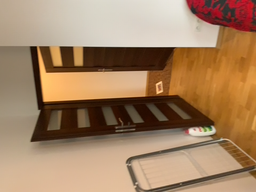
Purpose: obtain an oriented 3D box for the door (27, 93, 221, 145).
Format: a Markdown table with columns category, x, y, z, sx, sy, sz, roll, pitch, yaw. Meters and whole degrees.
| category | x | y | z | sx | sy | sz | roll | pitch | yaw |
| --- | --- | --- | --- | --- | --- | --- | --- | --- | --- |
| door | -0.030 | 0.210 | 2.700 | 0.870 | 2.140 | 0.160 | -129 | 39 | -67 |
